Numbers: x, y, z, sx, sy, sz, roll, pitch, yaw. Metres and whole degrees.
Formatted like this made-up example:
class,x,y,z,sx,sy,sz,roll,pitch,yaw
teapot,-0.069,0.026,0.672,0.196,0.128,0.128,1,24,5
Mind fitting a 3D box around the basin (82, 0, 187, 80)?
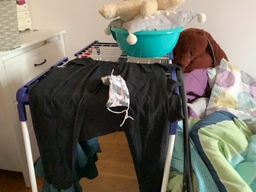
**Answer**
class,x,y,z,sx,sy,sz,roll,pitch,yaw
basin,0.070,-0.380,1.230,0.470,0.380,0.510,5,26,11
